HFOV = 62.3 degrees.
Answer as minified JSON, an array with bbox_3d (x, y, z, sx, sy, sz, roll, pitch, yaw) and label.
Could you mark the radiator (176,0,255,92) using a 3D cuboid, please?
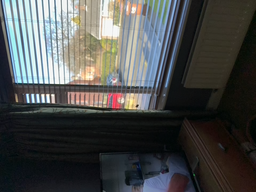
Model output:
[{"bbox_3d":[0.850,-0.930,1.520,0.130,0.540,1.980,-109,23,-58],"label":"radiator"}]
